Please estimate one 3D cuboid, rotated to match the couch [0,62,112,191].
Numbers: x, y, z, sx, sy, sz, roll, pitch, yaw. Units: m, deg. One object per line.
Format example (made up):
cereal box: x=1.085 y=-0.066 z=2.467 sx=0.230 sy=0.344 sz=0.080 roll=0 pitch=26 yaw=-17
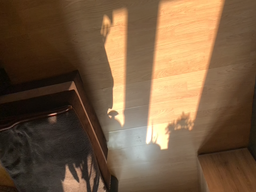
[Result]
couch: x=-0.440 y=0.280 z=1.350 sx=0.460 sy=0.510 sz=0.760 roll=-11 pitch=122 yaw=7
